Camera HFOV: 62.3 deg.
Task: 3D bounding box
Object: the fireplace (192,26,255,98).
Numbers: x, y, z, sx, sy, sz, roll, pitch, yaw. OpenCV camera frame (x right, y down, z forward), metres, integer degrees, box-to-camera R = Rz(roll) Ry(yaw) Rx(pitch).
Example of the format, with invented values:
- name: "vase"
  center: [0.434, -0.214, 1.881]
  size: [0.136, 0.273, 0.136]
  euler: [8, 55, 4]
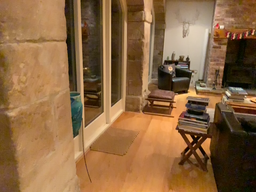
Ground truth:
- name: "fireplace"
  center: [2.950, -0.910, 5.540]
  size: [2.240, 1.650, 1.040]
  euler: [6, 16, 14]
